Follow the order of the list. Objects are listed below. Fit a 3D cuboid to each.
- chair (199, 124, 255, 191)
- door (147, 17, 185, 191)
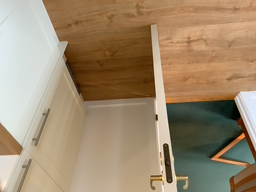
[{"bbox_3d":[1.480,1.010,2.270,0.930,0.970,0.790,14,135,-12],"label":"chair"},{"bbox_3d":[0.190,0.510,0.980,0.070,2.110,0.790,-4,136,6],"label":"door"}]
